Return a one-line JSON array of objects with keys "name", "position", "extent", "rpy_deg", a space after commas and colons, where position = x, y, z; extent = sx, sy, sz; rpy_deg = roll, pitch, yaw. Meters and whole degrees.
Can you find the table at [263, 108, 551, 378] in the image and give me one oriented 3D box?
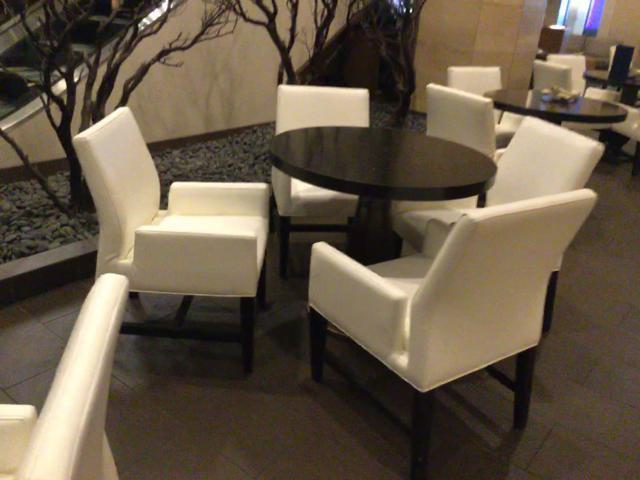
[{"name": "table", "position": [0.270, -0.050, 2.420], "extent": [0.880, 0.770, 0.810], "rpy_deg": [-6, 28, -12]}]
